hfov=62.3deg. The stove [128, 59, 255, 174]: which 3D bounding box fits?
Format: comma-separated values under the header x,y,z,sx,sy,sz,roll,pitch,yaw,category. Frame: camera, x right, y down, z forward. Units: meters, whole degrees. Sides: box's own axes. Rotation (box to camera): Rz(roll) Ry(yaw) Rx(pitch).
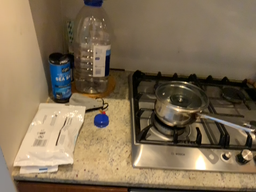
x,y,z,sx,sy,sz,roll,pitch,yaw,category
0.300,0.030,0.840,0.590,0.040,0.600,4,36,-4,stove
